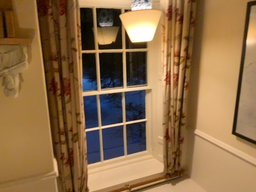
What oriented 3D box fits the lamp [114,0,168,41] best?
[{"bbox_3d":[0.100,-0.790,1.800,0.360,0.610,0.310,-7,-165,-20],"label":"lamp"}]
